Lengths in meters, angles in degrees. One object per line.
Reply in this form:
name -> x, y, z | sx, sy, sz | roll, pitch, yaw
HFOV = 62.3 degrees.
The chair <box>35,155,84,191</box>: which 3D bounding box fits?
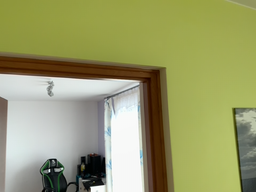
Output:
chair -> -1.400, 1.900, 4.310 | 0.740, 1.210, 0.680 | -9, -11, 43
